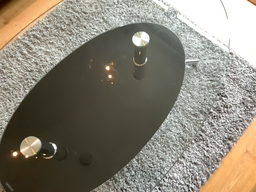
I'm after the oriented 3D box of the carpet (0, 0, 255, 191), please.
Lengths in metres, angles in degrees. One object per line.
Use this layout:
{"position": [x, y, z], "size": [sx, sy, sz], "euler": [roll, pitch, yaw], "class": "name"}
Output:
{"position": [-0.270, 0.140, 1.030], "size": [1.230, 0.070, 1.720], "euler": [41, 76, 13], "class": "carpet"}
